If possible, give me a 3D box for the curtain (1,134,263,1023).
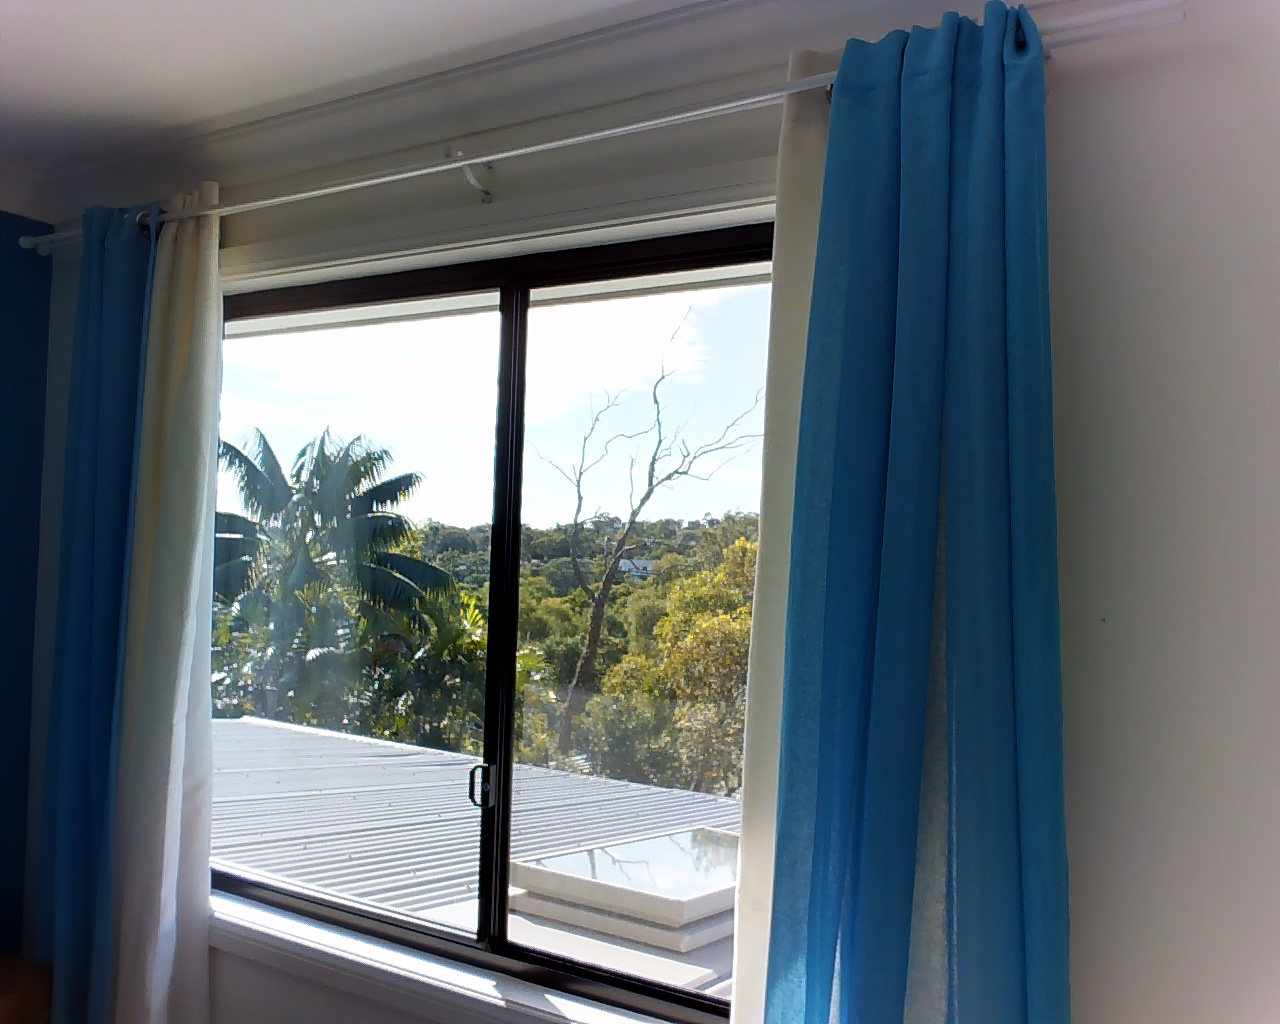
[{"bbox_3d":[-1.110,0.400,2.320,0.390,2.321,0.250,1,-2,30],"label":"curtain"}]

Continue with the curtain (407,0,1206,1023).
[{"bbox_3d":[0.180,0.430,1.530,1.070,2.281,0.270,1,-2,30],"label":"curtain"}]
